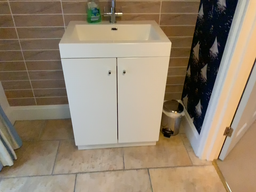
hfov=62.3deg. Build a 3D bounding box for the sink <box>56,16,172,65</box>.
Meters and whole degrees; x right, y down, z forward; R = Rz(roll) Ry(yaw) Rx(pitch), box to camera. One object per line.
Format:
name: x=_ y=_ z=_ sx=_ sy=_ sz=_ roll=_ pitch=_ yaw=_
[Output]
sink: x=-0.090 y=-0.370 z=1.340 sx=0.610 sy=0.140 sz=0.450 roll=-3 pitch=35 yaw=-5
